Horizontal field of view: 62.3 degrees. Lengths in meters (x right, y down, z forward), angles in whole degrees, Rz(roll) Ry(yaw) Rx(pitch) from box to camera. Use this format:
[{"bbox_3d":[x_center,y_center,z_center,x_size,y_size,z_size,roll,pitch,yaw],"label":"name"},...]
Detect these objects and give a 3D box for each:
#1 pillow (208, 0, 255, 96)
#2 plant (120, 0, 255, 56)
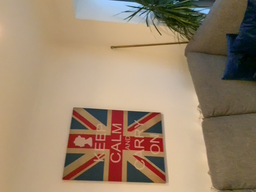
[{"bbox_3d":[0.950,-0.360,1.610,0.170,0.350,0.620,-66,1,-62],"label":"pillow"},{"bbox_3d":[0.760,-0.790,2.030,0.570,1.630,0.460,105,167,-66],"label":"plant"}]
